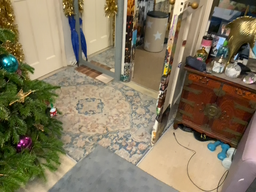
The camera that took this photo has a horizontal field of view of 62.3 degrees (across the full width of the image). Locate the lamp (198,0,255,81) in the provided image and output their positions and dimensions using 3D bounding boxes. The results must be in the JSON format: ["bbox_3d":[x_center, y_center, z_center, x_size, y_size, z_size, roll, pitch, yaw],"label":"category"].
[{"bbox_3d":[0.800,-0.540,1.560,0.300,0.750,0.300,23,40,24],"label":"lamp"}]
